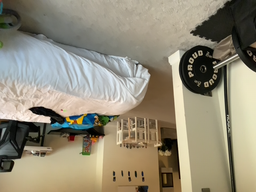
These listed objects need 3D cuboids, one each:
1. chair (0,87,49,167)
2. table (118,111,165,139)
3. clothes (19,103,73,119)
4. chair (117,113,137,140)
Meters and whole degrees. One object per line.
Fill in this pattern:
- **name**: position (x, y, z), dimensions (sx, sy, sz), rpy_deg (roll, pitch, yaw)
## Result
- **chair**: position (-1.780, 0.520, 3.340), dimensions (0.650, 1.120, 0.760), rpy_deg (0, 160, 0)
- **table**: position (0.290, 0.680, 4.790), dimensions (0.840, 0.470, 0.600), rpy_deg (9, 159, -24)
- **clothes**: position (-0.960, 0.190, 2.530), dimensions (0.280, 0.040, 0.540), rpy_deg (-12, 157, 29)
- **chair**: position (-0.020, 0.670, 4.680), dimensions (0.340, 0.520, 0.290), rpy_deg (9, 159, -24)
